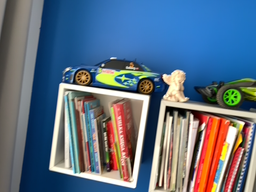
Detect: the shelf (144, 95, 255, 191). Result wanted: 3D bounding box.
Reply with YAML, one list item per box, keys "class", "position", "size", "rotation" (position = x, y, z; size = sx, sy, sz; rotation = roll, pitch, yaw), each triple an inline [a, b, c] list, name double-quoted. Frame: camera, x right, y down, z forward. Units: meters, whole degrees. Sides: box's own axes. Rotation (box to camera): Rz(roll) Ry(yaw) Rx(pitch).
- class: "shelf"
  position: [0.270, 0.210, 0.860]
  size: [0.340, 0.370, 0.280]
  rotation: [9, 3, 9]

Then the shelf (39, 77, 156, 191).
- class: "shelf"
  position: [-0.110, 0.140, 0.920]
  size: [0.390, 0.380, 0.270]
  rotation: [10, 7, 7]
